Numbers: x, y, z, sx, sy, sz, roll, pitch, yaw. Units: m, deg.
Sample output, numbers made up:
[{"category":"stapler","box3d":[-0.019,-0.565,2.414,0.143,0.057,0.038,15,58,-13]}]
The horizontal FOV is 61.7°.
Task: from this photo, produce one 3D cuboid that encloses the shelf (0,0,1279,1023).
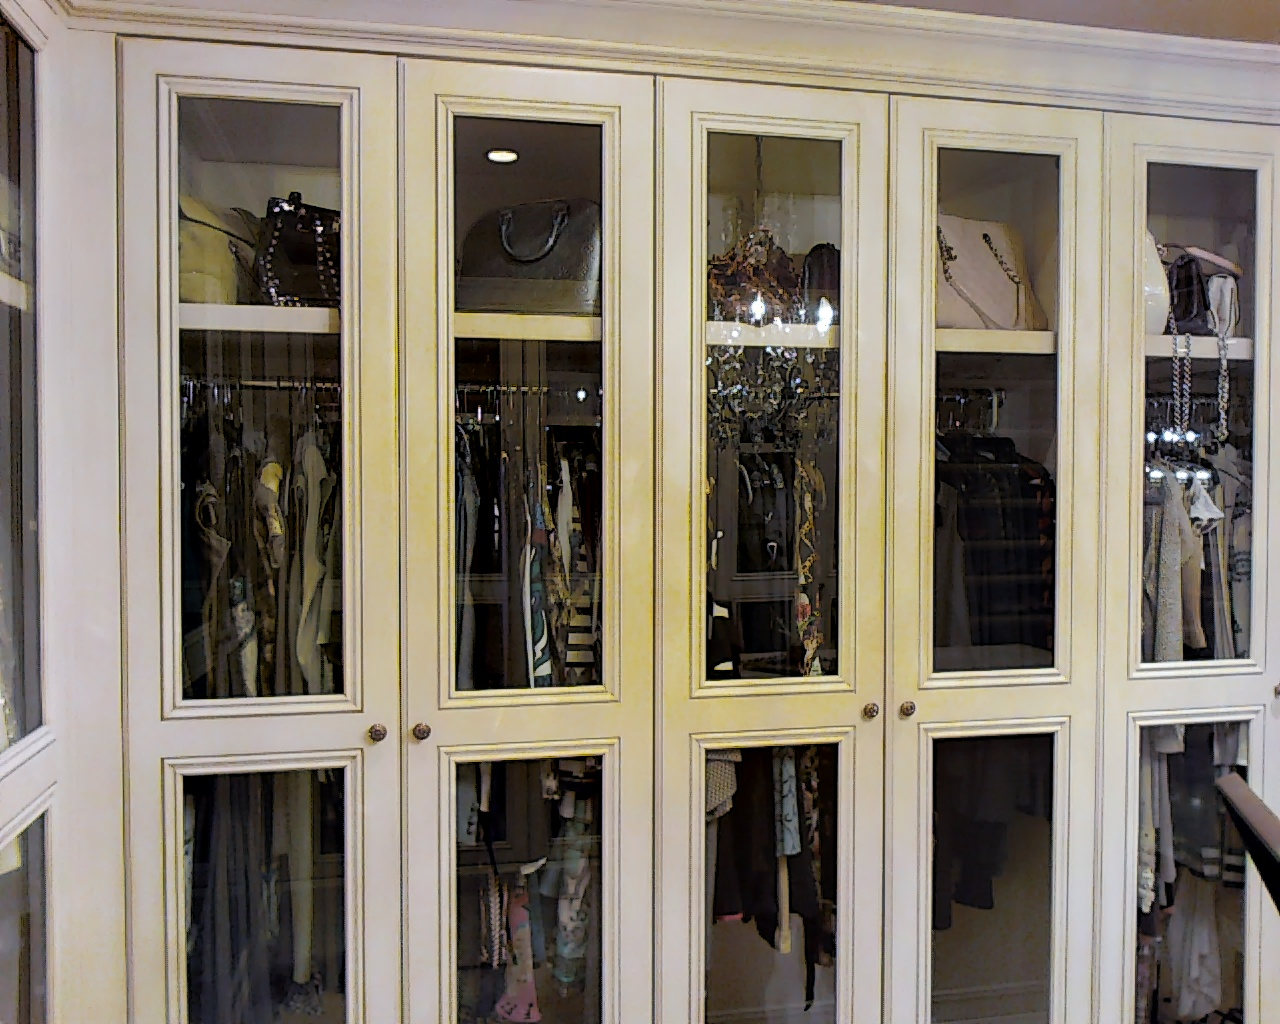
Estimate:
[{"category":"shelf","box3d":[0.460,0.180,2.030,2.820,2.700,0.770,0,2,-11]}]
